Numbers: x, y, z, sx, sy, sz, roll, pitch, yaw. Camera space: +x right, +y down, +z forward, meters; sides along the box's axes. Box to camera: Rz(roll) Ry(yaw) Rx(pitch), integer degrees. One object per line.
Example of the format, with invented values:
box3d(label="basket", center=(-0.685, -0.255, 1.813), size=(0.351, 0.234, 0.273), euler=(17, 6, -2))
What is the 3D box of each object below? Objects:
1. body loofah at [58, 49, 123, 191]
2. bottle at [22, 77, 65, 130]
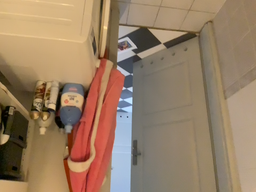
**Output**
box3d(label="body loofah", center=(-0.200, 0.200, 1.300), size=(0.290, 0.940, 0.280), euler=(3, 158, -5))
box3d(label="bottle", center=(-0.490, 0.050, 1.270), size=(0.160, 0.260, 0.190), euler=(4, 158, -6))
